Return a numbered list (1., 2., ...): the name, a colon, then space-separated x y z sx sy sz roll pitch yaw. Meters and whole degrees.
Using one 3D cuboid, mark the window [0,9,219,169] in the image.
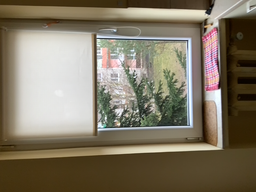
1. window: -0.160 -0.050 1.340 0.140 1.450 0.900 156 113 -81
